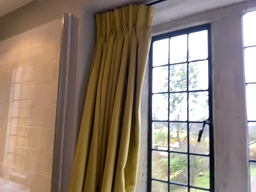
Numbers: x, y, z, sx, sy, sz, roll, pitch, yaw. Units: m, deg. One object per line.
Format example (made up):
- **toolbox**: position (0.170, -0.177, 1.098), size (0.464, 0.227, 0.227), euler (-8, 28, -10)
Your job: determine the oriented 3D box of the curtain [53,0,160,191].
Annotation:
- **curtain**: position (-0.100, 0.110, 1.120), size (0.410, 1.250, 0.330), euler (-3, -8, 34)
